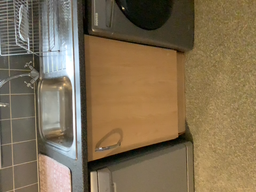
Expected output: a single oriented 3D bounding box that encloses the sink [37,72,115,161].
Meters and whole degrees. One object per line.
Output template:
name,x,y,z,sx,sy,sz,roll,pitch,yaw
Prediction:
sink,-0.320,0.090,1.250,0.440,0.260,0.420,1,93,48
